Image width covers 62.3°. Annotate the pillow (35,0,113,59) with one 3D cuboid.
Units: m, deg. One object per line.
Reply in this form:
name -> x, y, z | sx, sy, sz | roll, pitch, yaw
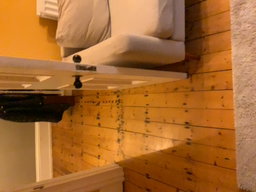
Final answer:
pillow -> -0.400, -0.650, 1.660 | 0.280, 0.350, 0.560 | -7, 59, 51
